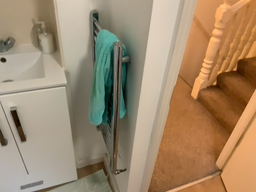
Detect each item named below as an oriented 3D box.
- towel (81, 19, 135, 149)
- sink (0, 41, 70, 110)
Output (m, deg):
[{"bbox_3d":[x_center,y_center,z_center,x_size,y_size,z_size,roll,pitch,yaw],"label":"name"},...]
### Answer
[{"bbox_3d":[-0.110,-0.040,1.000,0.150,0.550,0.260,-9,41,-17],"label":"towel"},{"bbox_3d":[-0.660,-0.120,1.140,0.610,0.130,0.440,-9,41,-17],"label":"sink"}]
